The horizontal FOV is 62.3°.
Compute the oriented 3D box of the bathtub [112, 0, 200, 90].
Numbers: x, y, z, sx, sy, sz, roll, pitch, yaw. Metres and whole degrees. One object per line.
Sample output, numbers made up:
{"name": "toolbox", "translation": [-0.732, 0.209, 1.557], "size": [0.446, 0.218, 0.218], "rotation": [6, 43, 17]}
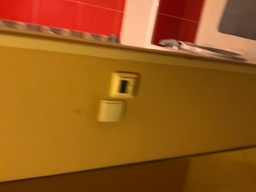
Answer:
{"name": "bathtub", "translation": [0.310, -0.880, 2.430], "size": [0.670, 0.590, 1.490], "rotation": [33, 118, 58]}
